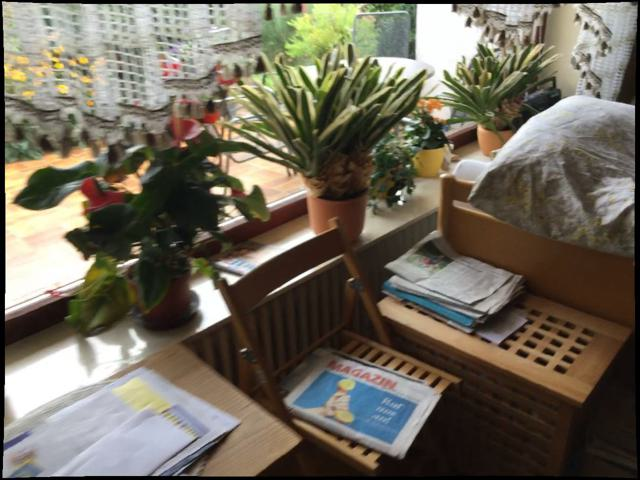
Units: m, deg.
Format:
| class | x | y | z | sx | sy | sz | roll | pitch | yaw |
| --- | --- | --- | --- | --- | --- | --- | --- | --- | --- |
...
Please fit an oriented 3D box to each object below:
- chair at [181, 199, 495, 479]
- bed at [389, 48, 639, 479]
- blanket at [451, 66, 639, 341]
| class | x | y | z | sx | sy | sz | roll | pitch | yaw |
| --- | --- | --- | --- | --- | --- | --- | --- | --- | --- |
| chair | 0.040 | 0.380 | 1.570 | 0.590 | 0.731 | 0.470 | 24 | 38 | 36 |
| bed | 1.429 | -0.130 | 2.390 | 1.110 | 0.791 | 2.269 | 24 | 38 | 36 |
| blanket | 1.089 | -0.150 | 1.720 | 0.900 | 0.390 | 1.090 | 24 | 38 | 35 |
